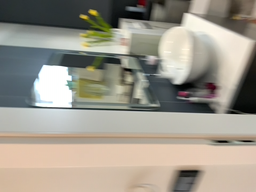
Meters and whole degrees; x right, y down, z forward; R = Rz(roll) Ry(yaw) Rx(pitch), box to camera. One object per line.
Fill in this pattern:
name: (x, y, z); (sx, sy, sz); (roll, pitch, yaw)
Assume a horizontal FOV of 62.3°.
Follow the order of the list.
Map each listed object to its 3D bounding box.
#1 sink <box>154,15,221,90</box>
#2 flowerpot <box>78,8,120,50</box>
sink: (0.420, -0.360, 1.670); (0.530, 0.230, 0.400); (-106, 21, -57)
flowerpot: (-0.360, -0.810, 2.540); (0.570, 0.440, 0.310); (-106, 21, -57)
